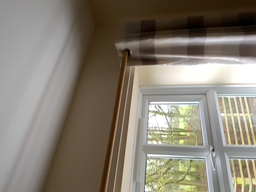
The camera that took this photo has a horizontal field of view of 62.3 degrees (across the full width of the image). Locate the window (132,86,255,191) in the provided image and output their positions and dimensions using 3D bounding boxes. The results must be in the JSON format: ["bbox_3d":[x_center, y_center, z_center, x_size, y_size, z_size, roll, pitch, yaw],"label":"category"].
[{"bbox_3d":[0.520,0.270,1.210,0.060,0.940,0.820,77,-164,-49],"label":"window"}]
